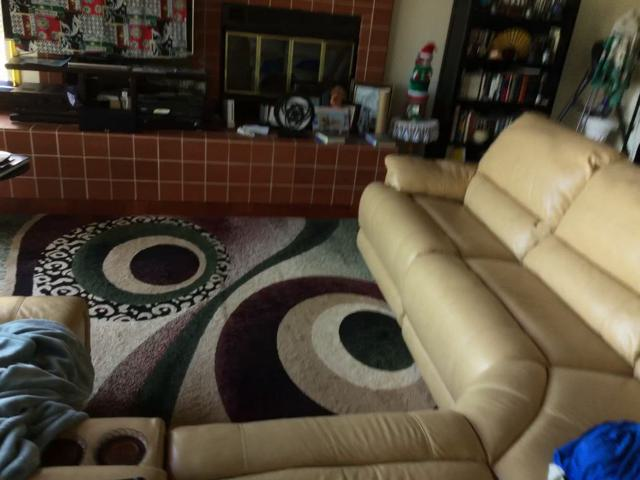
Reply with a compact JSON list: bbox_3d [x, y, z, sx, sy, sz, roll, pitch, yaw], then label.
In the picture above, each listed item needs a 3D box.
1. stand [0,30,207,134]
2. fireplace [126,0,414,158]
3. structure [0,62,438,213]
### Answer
[{"bbox_3d":[-1.440,-1.070,3.890,1.300,0.460,0.710,0,27,-13],"label":"stand"},{"bbox_3d":[-0.400,-1.560,4.420,1.990,1.640,0.720,0,27,-13],"label":"fireplace"},{"bbox_3d":[-1.540,-0.710,3.900,4.550,0.710,0.850,0,27,-13],"label":"structure"}]
